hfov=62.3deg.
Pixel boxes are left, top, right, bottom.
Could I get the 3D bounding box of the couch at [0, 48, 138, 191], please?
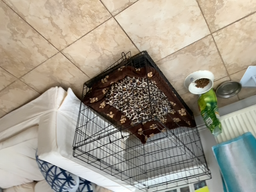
[{"bbox_3d":[-1.060,0.620,1.920,2.060,0.740,0.990,-25,134,24],"label":"couch"}]
